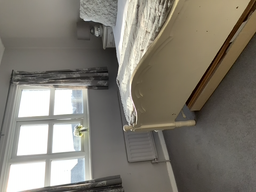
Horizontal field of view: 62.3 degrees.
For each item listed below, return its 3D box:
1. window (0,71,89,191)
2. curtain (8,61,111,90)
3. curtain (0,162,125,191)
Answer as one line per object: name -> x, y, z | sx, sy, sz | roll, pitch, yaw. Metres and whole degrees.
window -> -1.130, 0.400, 2.970 | 0.220, 1.060, 1.730 | 106, 158, -55
curtain -> -1.000, -0.330, 3.270 | 0.250, 1.440, 0.340 | 109, 156, -58
curtain -> -0.860, 1.030, 2.290 | 0.190, 1.630, 0.380 | 98, 165, -60
